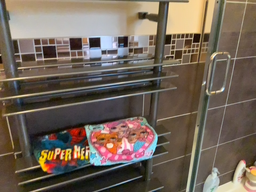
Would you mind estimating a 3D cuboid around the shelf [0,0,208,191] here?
[{"bbox_3d":[-0.110,0.270,0.910,0.660,1.390,0.270,-9,24,-24],"label":"shelf"}]
